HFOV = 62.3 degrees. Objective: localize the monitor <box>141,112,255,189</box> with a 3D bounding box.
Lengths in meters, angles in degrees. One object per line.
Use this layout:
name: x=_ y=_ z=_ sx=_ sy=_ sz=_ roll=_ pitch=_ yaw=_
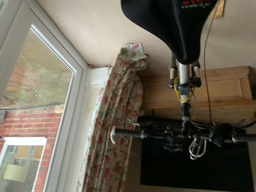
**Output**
monitor: x=0.710 y=0.550 z=2.200 sx=1.130 sy=0.710 sz=0.100 roll=3 pitch=154 yaw=-2
